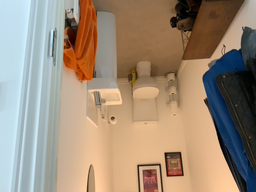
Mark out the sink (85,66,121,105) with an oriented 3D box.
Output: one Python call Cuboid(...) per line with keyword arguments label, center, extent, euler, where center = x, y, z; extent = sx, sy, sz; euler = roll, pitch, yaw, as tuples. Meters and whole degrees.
Cuboid(label="sink", center=(-0.200, -0.070, 1.840), extent=(0.240, 0.170, 0.490), euler=(-4, 163, 1))
